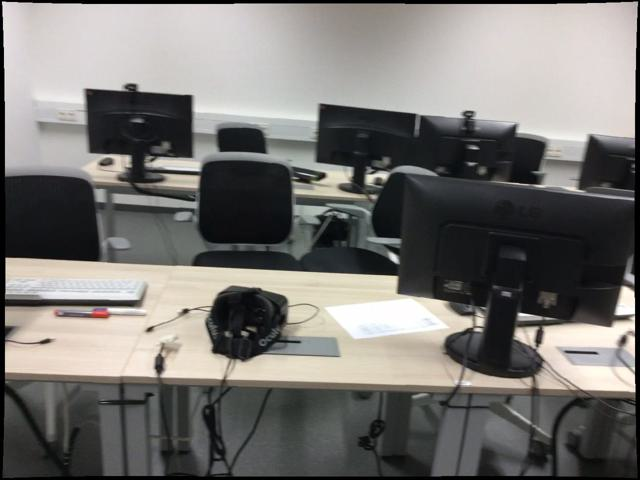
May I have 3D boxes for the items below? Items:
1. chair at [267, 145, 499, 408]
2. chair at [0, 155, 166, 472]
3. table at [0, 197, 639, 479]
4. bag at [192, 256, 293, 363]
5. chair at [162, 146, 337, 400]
[{"bbox_3d":[0.220,0.090,2.690,0.659,0.881,0.850,-8,22,-26],"label":"chair"},{"bbox_3d":[-1.039,0.220,2.240,0.669,0.931,0.720,-8,22,-26],"label":"chair"},{"bbox_3d":[0.649,0.470,1.850,4.146,0.841,1.000,2,20,-1],"label":"table"},{"bbox_3d":[-0.190,0.170,1.530,0.220,0.130,0.350,2,20,-1],"label":"bag"},{"bbox_3d":[-0.320,0.100,2.650,0.639,0.911,0.780,0,20,-7],"label":"chair"}]
